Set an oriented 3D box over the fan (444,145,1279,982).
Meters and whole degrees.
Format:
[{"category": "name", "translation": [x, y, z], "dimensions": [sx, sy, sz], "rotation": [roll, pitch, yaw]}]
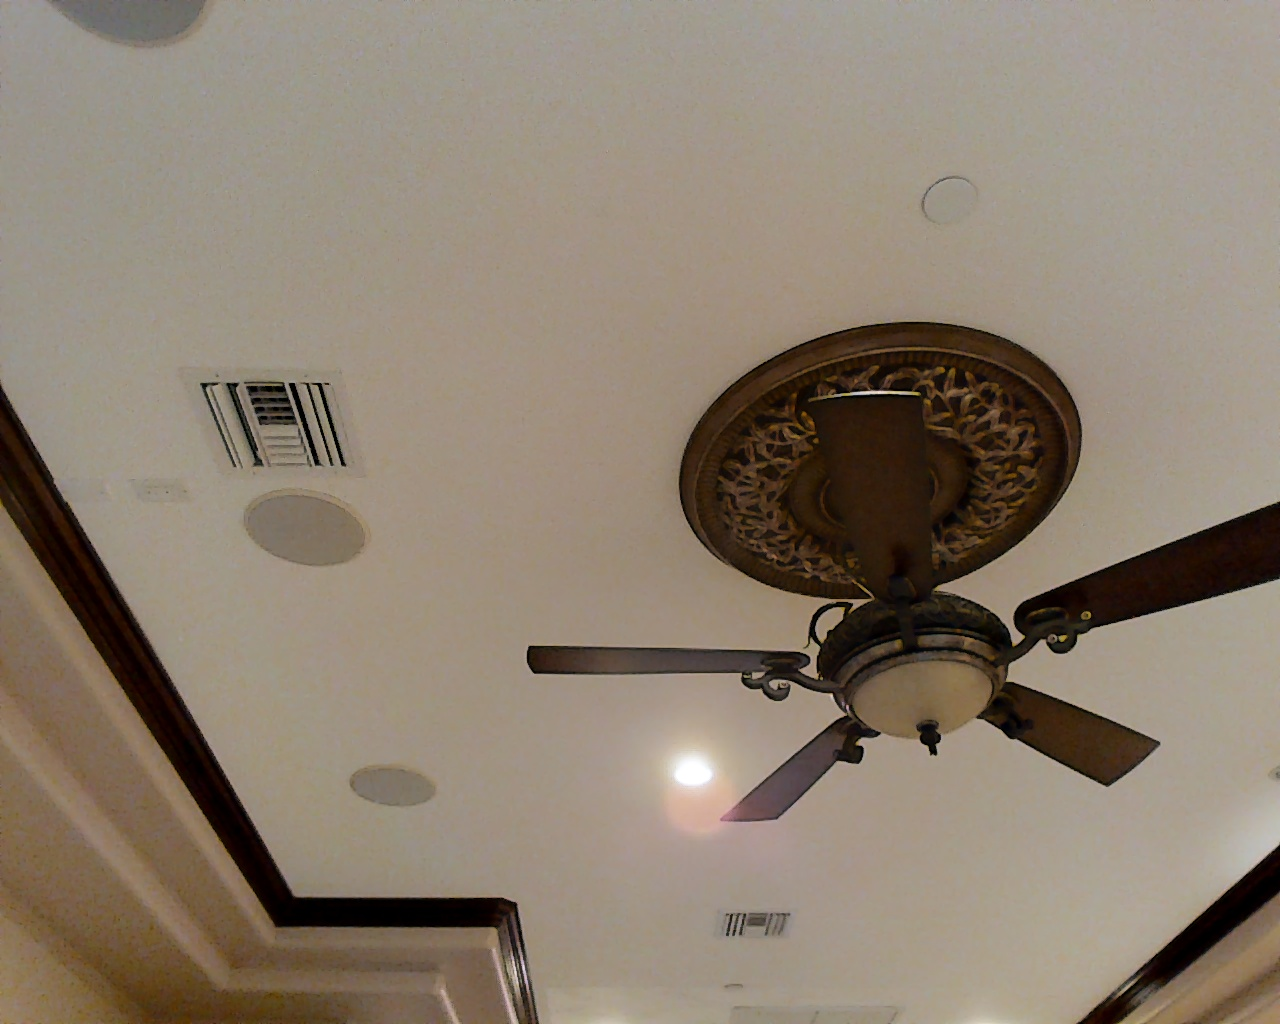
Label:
[{"category": "fan", "translation": [0.430, 0.160, 2.050], "dimensions": [1.240, 1.020, 0.590], "rotation": [32, 44, -1]}]
